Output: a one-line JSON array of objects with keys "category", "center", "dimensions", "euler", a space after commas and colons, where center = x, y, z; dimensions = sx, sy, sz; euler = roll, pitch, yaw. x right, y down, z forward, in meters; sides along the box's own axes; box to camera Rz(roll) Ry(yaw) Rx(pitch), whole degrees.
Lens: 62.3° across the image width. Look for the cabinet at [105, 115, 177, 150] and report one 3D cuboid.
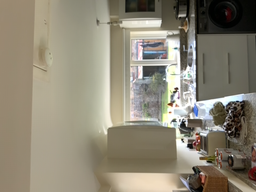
[{"category": "cabinet", "center": [0.160, 0.430, 2.760], "dimensions": [1.100, 0.740, 0.340], "euler": [54, -144, -85]}]
